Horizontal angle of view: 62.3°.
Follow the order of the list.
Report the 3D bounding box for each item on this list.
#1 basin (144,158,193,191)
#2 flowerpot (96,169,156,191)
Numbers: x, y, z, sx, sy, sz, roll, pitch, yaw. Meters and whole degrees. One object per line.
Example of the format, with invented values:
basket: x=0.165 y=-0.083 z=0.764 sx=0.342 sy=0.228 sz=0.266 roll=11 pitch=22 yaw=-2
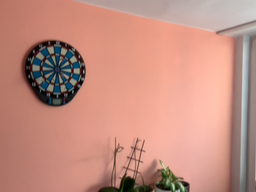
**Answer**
basin: x=0.350 y=0.780 z=1.850 sx=0.340 sy=0.370 sz=0.230 roll=1 pitch=1 yaw=-30
flowerpot: x=-0.020 y=0.800 z=1.670 sx=0.390 sy=0.300 sz=0.270 roll=1 pitch=1 yaw=-27
